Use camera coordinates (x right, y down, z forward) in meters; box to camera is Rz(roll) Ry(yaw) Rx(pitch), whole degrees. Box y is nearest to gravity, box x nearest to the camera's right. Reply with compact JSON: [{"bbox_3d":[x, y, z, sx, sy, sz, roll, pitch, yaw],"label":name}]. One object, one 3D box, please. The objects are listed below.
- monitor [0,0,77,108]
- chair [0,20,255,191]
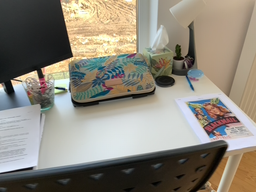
[{"bbox_3d":[-0.460,-0.170,0.770,0.530,0.420,0.040,-29,41,-35],"label":"monitor"},{"bbox_3d":[-0.130,0.380,0.740,0.700,1.030,0.680,-6,36,-5],"label":"chair"}]
